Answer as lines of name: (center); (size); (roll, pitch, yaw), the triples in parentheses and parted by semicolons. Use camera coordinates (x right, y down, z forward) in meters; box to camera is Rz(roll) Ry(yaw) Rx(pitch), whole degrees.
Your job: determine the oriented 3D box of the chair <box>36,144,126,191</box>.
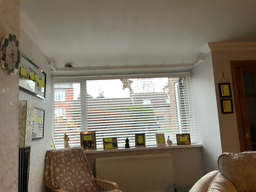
chair: (-0.600, 1.150, 2.730); (0.890, 0.930, 0.730); (-8, -9, 37)
